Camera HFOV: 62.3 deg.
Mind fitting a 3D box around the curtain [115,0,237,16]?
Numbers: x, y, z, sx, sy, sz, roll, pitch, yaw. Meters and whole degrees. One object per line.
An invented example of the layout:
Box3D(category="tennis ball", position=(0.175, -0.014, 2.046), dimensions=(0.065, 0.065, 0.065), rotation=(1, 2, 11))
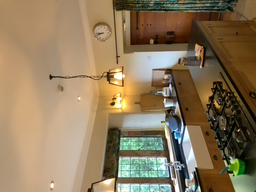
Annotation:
Box3D(category="curtain", position=(0.800, -1.650, 3.640), dimensions=(0.250, 2.020, 0.440), rotation=(-89, -2, -50))
